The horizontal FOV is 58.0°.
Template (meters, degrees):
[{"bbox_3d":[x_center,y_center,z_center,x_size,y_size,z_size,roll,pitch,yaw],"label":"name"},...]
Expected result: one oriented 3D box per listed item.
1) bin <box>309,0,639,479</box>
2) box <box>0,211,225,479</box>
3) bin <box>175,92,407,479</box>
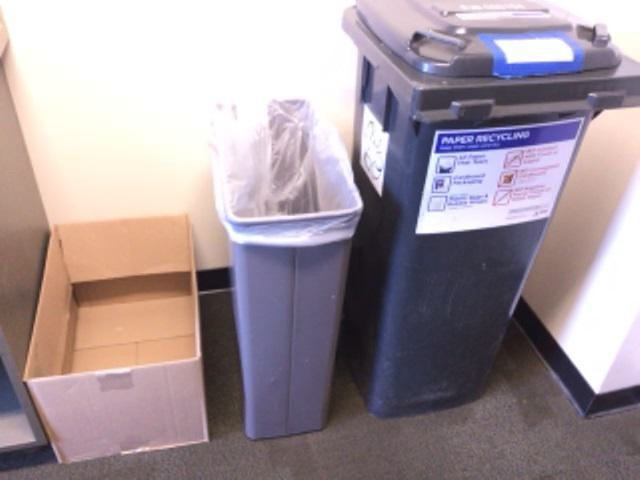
[{"bbox_3d":[0.290,-0.010,1.400,0.490,1.060,0.510,-8,35,-14],"label":"bin"},{"bbox_3d":[-0.620,0.270,1.550,0.620,0.380,0.590,-8,35,-14],"label":"box"},{"bbox_3d":[-0.110,0.100,1.480,0.390,0.770,0.540,-8,35,-14],"label":"bin"}]
